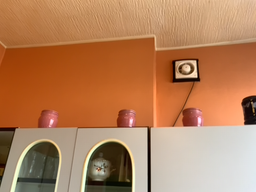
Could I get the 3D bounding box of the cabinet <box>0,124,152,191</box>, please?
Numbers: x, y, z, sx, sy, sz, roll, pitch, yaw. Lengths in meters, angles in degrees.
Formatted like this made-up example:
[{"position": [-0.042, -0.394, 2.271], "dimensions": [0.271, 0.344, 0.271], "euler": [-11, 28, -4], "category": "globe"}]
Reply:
[{"position": [-0.210, 0.490, 0.890], "dimensions": [0.600, 0.670, 0.310], "euler": [-2, -26, 10], "category": "cabinet"}]
